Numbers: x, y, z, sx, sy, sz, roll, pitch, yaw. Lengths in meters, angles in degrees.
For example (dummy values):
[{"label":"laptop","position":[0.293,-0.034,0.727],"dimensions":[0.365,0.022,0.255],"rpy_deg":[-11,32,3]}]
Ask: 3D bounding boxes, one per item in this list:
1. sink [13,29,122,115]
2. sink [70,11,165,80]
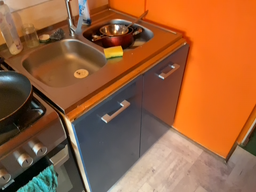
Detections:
[{"label":"sink","position":[-0.300,-0.150,1.090],"dimensions":[0.400,0.160,0.350],"rpy_deg":[31,51,29]},{"label":"sink","position":[-0.060,-0.330,1.290],"dimensions":[0.400,0.160,0.380],"rpy_deg":[31,51,29]}]
